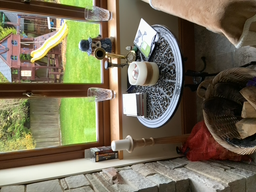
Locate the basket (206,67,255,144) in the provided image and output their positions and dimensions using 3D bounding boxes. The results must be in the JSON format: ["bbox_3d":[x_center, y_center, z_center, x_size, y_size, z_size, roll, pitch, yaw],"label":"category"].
[{"bbox_3d":[0.810,0.070,1.370,0.450,0.260,0.400,-35,60,59],"label":"basket"}]
